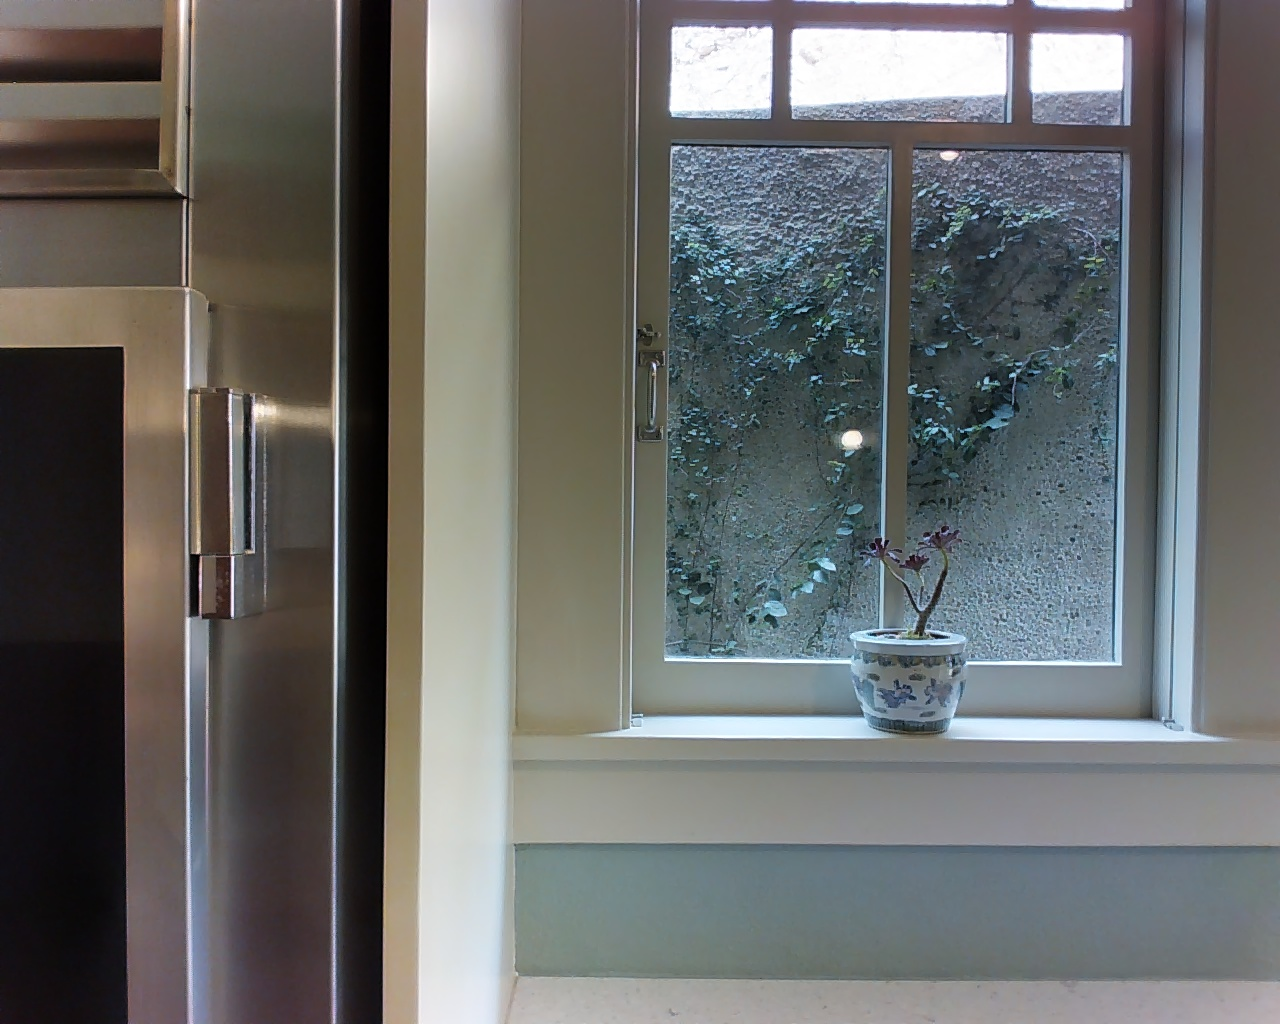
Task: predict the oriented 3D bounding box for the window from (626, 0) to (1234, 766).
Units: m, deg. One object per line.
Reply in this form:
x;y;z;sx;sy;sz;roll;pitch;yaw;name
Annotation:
0.370;-0.340;1.450;0.760;1.320;0.160;1;1;-1;window
